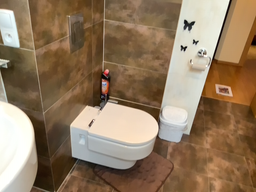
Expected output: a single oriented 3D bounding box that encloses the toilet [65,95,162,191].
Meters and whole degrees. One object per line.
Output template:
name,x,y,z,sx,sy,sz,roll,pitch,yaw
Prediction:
toilet,-0.090,0.330,1.550,0.560,0.430,0.390,13,32,11
